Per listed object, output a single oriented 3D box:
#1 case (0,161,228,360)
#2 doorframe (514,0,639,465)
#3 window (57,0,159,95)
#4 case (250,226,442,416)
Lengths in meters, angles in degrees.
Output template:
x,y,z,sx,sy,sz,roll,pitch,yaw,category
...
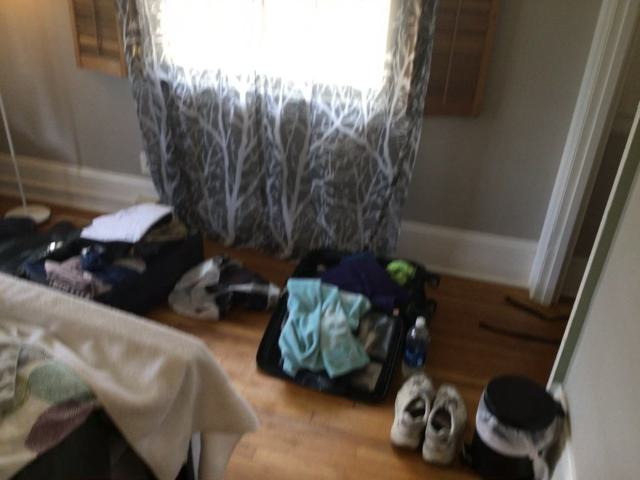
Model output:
x,y,z,sx,sy,sz,roll,pitch,yaw,category
-0.970,0.030,2.490,0.900,0.350,0.820,10,29,9,case
0.910,-0.480,1.750,0.150,2.140,1.020,8,29,10,doorframe
-0.900,-1.270,2.340,0.370,1.290,0.140,10,29,9,window
0.140,0.270,2.300,0.620,0.240,0.770,10,29,9,case
